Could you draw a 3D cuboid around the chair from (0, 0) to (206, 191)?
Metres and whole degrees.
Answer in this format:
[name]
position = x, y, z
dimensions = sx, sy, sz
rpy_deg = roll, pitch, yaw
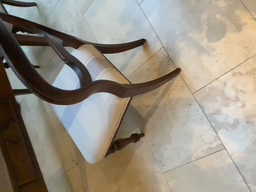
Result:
[chair]
position = -0.180, -0.010, 0.970
dimensions = 0.560, 0.870, 0.530
rpy_deg = 47, 121, 25
